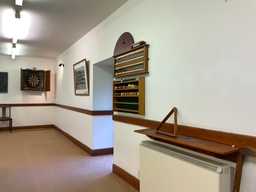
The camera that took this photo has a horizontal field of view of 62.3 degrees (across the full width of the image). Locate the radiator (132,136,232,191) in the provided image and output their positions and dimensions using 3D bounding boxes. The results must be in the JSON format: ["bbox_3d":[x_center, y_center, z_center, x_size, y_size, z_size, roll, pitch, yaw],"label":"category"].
[{"bbox_3d":[0.390,0.790,1.920,0.170,0.650,1.080,1,0,-29],"label":"radiator"}]

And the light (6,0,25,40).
[{"bbox_3d":[-2.050,-1.340,3.890,0.240,0.150,1.900,1,0,-28],"label":"light"}]
